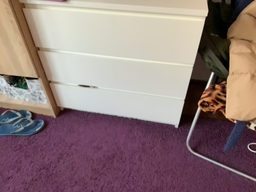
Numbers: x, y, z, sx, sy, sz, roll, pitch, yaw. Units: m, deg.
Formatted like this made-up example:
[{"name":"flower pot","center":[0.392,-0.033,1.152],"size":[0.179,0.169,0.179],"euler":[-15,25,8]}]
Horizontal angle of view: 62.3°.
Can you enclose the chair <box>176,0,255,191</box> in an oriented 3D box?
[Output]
[{"name":"chair","center":[0.700,-0.020,1.110],"size":[0.540,0.750,0.770],"euler":[21,49,20]}]
